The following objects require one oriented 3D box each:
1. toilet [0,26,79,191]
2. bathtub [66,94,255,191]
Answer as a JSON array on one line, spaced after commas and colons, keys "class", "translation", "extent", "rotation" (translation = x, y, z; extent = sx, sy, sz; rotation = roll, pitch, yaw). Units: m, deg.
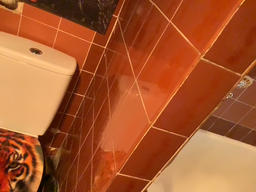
[{"class": "toilet", "translation": [-0.520, 0.240, 0.850], "extent": [0.370, 0.780, 0.660], "rotation": [17, 31, -21]}, {"class": "bathtub", "translation": [0.350, 0.590, 1.290], "extent": [1.310, 0.580, 0.660], "rotation": [18, 31, -20]}]
